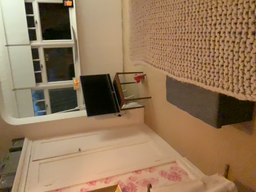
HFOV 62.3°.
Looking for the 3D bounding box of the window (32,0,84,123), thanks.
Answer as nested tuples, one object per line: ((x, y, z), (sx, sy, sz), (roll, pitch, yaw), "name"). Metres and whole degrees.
((-1.370, -1.040, 4.150), (0.330, 0.730, 3.180), (-139, 46, -63), "window")

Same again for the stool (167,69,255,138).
((0.720, 0.010, 1.930), (0.760, 0.400, 0.400), (-144, 49, -67), "stool")
